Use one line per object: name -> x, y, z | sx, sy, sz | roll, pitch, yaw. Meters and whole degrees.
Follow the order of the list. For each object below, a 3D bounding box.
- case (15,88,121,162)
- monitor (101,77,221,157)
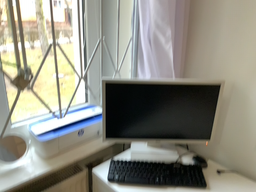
case -> -0.320, 0.120, 1.180 | 0.440, 0.180, 0.340 | -16, 27, -42
monitor -> 0.150, 0.120, 1.060 | 0.560, 0.420, 0.020 | 1, 19, -3
